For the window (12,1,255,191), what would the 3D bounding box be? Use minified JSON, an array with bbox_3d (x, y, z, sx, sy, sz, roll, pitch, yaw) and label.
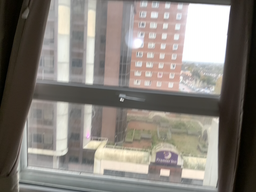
[{"bbox_3d":[-0.030,0.290,1.330,1.350,1.570,0.100,5,11,3],"label":"window"}]
